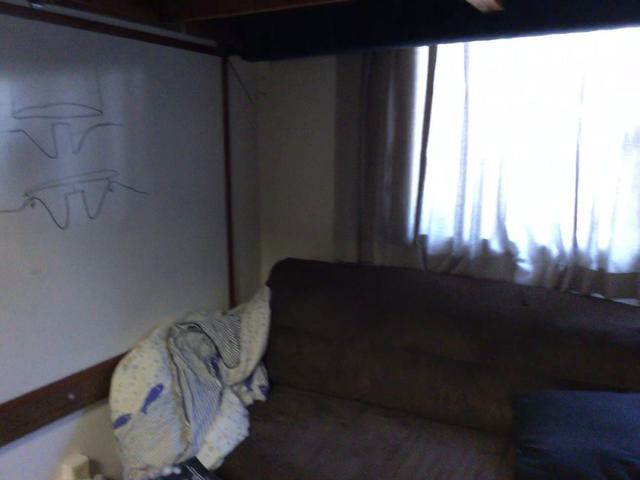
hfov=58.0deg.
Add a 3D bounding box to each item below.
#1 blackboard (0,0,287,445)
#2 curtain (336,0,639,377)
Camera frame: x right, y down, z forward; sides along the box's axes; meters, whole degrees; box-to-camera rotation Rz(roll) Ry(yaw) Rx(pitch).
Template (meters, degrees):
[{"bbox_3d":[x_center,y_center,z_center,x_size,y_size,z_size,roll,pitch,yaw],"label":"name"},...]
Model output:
[{"bbox_3d":[-0.740,-0.130,1.970,0.140,1.350,2.140,3,5,28],"label":"blackboard"},{"bbox_3d":[1.040,-0.190,2.060,1.950,1.230,0.430,3,5,28],"label":"curtain"}]
